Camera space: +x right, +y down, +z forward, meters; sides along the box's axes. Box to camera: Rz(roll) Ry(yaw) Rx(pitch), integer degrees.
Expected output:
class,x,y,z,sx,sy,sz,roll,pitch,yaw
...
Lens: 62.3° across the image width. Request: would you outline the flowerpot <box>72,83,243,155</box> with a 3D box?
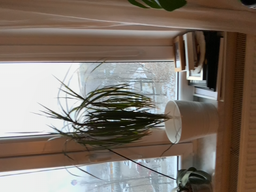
class,x,y,z,sx,sy,sz,roll,pitch,yaw
flowerpot,0.150,0.090,1.090,0.220,0.830,0.290,180,89,-77
